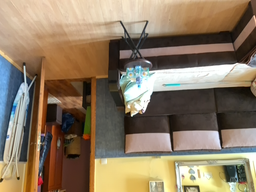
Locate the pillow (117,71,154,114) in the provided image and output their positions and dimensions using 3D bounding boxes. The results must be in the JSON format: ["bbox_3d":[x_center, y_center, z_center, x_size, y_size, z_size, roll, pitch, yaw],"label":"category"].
[{"bbox_3d":[0.110,-0.010,2.660,0.390,0.300,0.770,-3,162,4],"label":"pillow"}]
